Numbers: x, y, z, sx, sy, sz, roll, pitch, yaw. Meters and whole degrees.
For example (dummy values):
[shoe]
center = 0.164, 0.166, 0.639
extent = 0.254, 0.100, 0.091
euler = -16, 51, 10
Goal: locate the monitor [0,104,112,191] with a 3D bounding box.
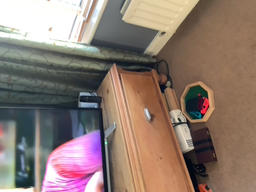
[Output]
[monitor]
center = -0.420, 0.630, 1.040
extent = 0.080, 0.740, 1.200
euler = -35, 57, 54
